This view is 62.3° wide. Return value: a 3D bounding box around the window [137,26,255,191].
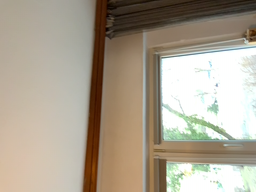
[{"bbox_3d":[0.690,0.660,1.530,0.160,1.250,2.370,34,-126,-68],"label":"window"}]
